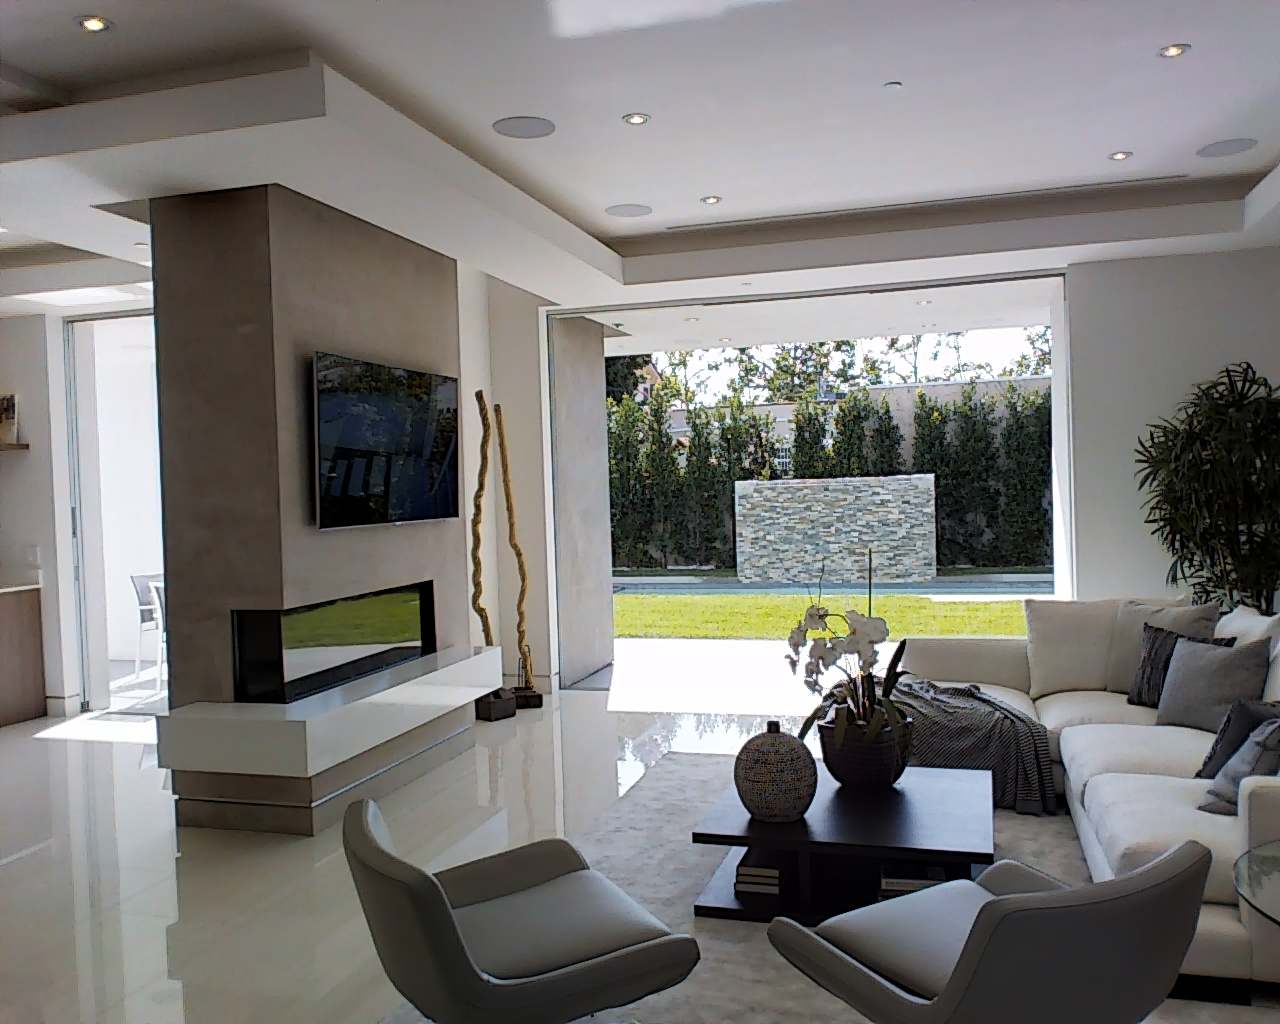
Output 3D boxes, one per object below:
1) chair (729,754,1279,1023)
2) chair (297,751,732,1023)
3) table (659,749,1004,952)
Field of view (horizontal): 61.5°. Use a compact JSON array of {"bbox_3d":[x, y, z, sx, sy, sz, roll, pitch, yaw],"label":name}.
[{"bbox_3d":[0.830,1.080,2.550,0.900,0.710,0.840,-3,2,-29],"label":"chair"},{"bbox_3d":[-0.360,1.110,2.800,0.840,0.680,0.880,-3,2,-29],"label":"chair"},{"bbox_3d":[0.770,1.231,4.120,1.130,0.320,1.140,-1,2,16],"label":"table"}]
